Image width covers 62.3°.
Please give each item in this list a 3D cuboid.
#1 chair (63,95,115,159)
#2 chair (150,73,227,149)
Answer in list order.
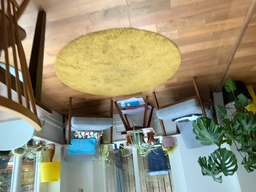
[{"bbox_3d":[-0.620,0.490,3.130,0.560,0.710,0.810,3,155,-22],"label":"chair"},{"bbox_3d":[0.820,0.260,2.900,0.590,0.760,0.800,-23,152,34],"label":"chair"}]
